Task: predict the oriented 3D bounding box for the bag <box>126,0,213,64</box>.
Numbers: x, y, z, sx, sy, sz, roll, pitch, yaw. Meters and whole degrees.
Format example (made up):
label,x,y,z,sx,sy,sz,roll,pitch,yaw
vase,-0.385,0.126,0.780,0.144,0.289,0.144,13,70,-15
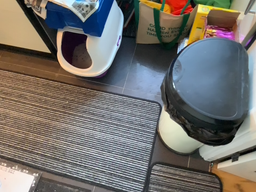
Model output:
label,x,y,z,sx,sy,sz,roll,pitch,yaw
bag,0.240,-0.510,1.390,0.300,0.350,0.380,-39,78,-18
